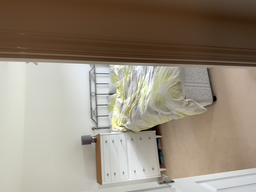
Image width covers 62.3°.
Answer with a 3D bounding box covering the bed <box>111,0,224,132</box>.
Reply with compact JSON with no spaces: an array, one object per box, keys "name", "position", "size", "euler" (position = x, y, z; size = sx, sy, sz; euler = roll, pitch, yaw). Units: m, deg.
[{"name":"bed","position":[0.340,-0.360,3.300],"size":[2.060,0.680,1.590],"euler":[138,130,-67]}]
